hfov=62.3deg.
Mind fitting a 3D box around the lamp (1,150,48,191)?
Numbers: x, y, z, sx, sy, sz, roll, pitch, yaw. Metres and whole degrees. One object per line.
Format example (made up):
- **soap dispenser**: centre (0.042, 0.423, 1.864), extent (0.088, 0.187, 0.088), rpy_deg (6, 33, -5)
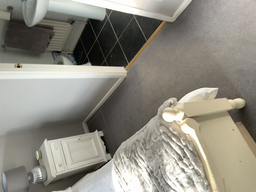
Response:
- **lamp**: centre (-1.080, 0.800, 2.200), extent (0.250, 0.350, 0.330), rpy_deg (-44, 60, 44)
